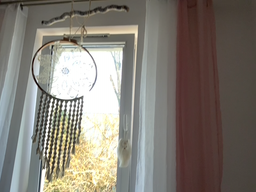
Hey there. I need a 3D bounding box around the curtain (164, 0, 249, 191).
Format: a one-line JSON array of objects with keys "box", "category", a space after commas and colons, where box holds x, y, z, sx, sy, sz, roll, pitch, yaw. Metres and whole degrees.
[{"box": [0.440, 0.340, 1.260, 0.430, 2.480, 0.170, 2, -13, 9], "category": "curtain"}]
